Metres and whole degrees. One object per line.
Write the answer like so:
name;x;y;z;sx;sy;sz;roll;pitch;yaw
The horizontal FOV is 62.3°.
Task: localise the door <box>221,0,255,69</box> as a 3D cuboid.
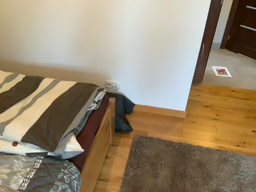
door;1.940;-1.450;2.950;0.100;2.120;0.740;-18;40;-27
